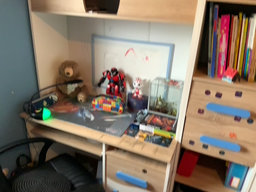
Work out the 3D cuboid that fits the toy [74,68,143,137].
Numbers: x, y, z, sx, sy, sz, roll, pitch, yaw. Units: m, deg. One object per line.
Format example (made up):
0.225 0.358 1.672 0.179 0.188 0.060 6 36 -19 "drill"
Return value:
-0.120 0.020 1.460 0.300 0.300 0.370 15 26 24 "toy"
